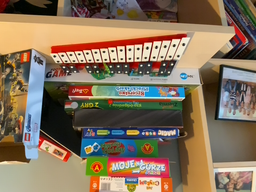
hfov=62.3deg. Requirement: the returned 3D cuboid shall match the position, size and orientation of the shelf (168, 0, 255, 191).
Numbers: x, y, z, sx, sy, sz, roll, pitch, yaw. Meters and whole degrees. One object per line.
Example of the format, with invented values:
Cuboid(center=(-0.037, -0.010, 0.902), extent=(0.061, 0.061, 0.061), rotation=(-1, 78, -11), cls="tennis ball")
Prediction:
Cuboid(center=(0.680, 0.100, 0.920), extent=(0.880, 1.110, 0.240), rotation=(1, 162, -7), cls="shelf")
